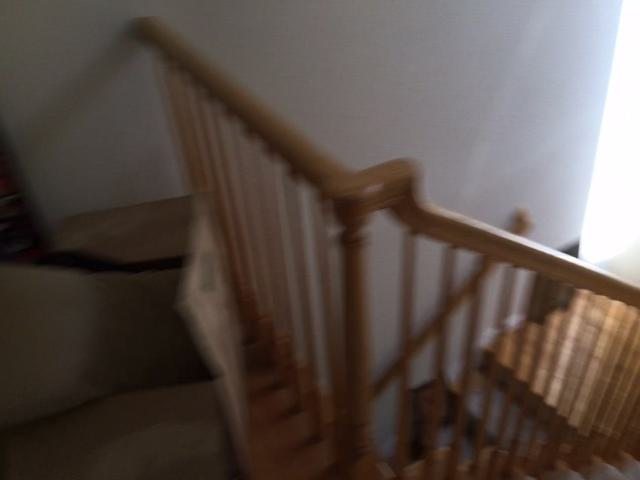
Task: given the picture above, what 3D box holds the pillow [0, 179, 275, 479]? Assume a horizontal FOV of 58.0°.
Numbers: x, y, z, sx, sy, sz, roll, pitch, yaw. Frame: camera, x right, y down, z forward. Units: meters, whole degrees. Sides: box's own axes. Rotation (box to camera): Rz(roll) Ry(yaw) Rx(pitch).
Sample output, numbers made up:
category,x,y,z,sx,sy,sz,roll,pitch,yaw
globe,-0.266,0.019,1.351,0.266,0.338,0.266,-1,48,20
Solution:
category,x,y,z,sx,sy,sz,roll,pitch,yaw
pillow,-0.530,0.220,1.420,0.650,0.370,0.460,-25,42,-19
